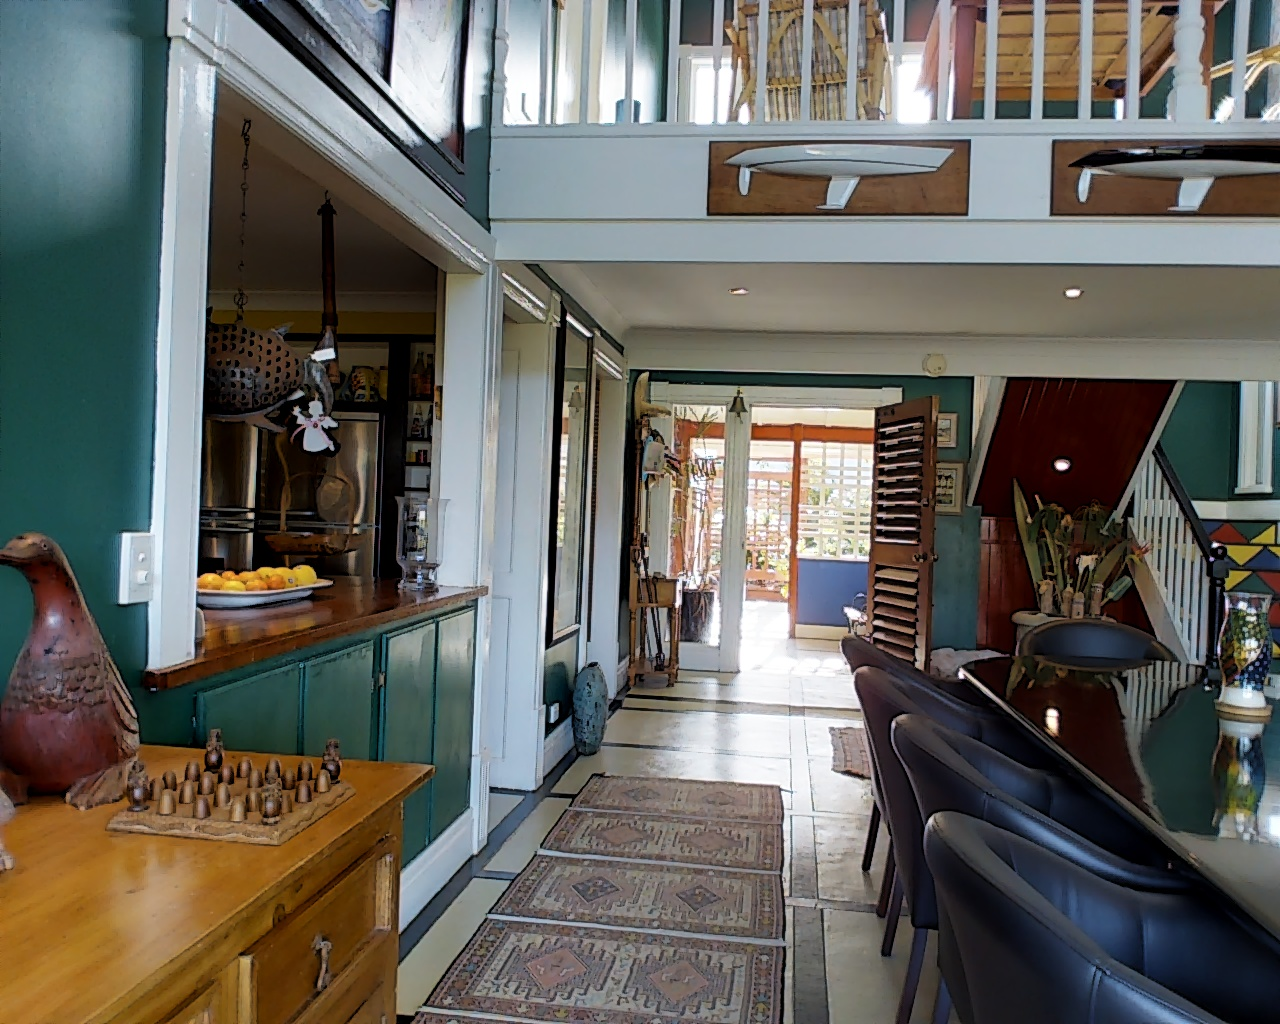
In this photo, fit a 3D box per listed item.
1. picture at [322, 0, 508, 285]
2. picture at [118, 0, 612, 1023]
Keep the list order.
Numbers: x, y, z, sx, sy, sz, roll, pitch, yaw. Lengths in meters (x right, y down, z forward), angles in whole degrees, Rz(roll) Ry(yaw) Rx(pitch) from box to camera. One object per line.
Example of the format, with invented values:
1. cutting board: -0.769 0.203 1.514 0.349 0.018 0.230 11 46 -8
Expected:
1. picture: -0.600 -1.531 2.770 0.060 1.500 1.150 2 38 8
2. picture: -0.530 0.050 3.780 0.160 2.341 3.910 2 0 8
